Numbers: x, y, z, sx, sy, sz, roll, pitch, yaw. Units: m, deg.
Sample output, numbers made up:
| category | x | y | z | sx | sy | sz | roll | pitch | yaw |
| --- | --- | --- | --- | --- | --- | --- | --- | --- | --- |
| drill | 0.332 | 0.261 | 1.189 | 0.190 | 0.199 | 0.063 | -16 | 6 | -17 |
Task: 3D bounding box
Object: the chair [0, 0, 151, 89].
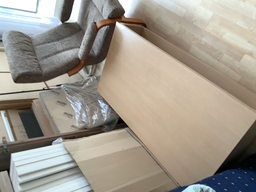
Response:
| category | x | y | z | sx | sy | sz | roll | pitch | yaw |
| --- | --- | --- | --- | --- | --- | --- | --- | --- | --- |
| chair | -0.530 | -0.630 | 2.000 | 0.790 | 1.020 | 0.750 | -53 | 56 | 38 |
